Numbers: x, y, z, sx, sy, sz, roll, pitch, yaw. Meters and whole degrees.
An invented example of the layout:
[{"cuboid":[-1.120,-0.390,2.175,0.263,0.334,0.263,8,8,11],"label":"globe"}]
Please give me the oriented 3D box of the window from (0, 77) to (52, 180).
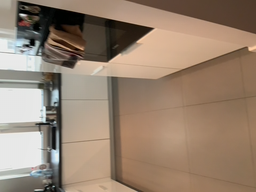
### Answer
[{"cuboid":[-1.920,0.460,3.150,0.150,1.460,1.490,-24,68,58],"label":"window"}]
